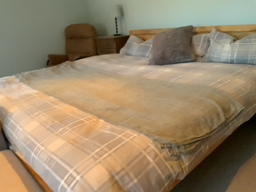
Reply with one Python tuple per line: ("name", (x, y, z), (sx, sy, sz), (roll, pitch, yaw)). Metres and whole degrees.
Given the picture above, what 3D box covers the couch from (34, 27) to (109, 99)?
("couch", (-0.890, -0.580, 3.520), (0.660, 0.970, 0.800), (9, 25, 37))
